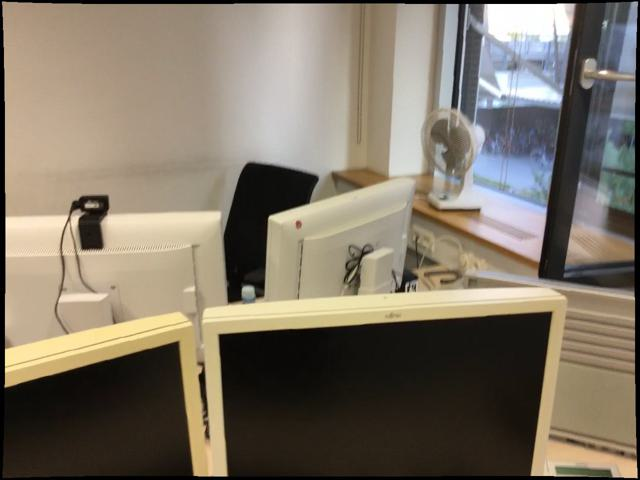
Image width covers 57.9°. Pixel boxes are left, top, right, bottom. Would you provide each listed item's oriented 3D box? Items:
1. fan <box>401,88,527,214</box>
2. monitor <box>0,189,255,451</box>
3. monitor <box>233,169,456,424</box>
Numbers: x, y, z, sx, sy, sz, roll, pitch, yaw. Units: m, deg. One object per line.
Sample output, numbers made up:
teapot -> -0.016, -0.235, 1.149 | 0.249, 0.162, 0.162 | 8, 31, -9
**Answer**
fan -> 0.569, -0.380, 2.360 | 0.300, 0.420, 0.370 | -11, 23, -25
monitor -> -0.499, 0.180, 1.300 | 0.669, 0.540, 0.190 | -2, 21, -3
monitor -> 0.090, 0.110, 1.560 | 0.220, 0.470, 0.610 | 19, 28, 41
